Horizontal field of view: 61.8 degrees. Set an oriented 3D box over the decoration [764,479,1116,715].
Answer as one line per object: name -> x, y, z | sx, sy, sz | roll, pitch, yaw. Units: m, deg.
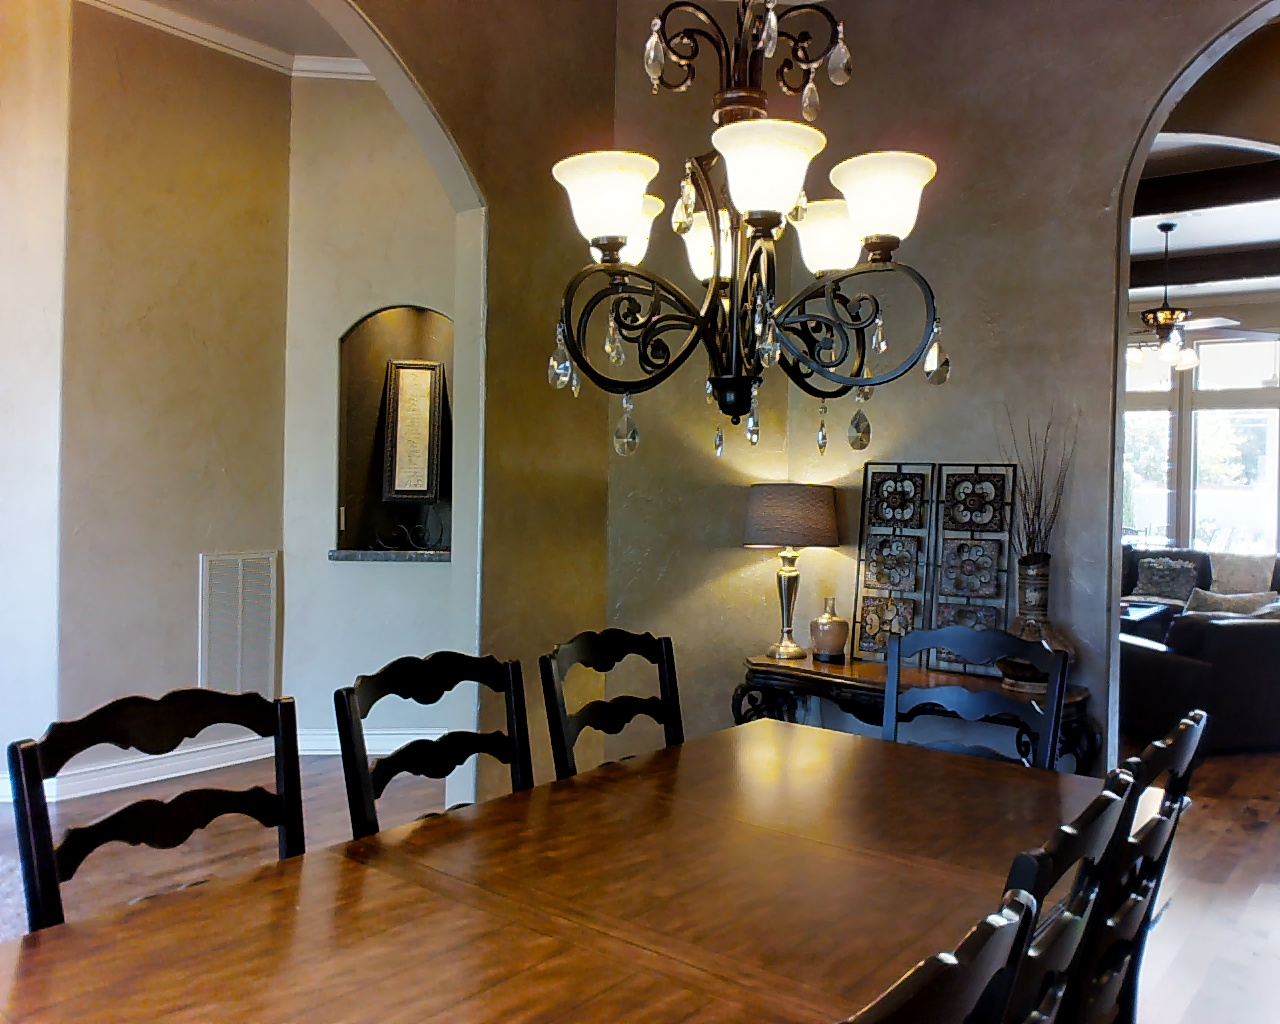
decoration -> 1.120, 0.280, 4.180 | 1.320, 0.810, 0.240 | 2, 1, 38
